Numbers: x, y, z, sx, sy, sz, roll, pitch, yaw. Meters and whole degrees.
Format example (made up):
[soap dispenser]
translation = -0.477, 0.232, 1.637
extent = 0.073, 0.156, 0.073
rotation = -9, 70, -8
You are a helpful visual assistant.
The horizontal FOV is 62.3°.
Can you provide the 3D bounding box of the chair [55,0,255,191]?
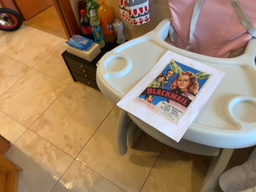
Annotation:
[chair]
translation = 0.300, -0.040, 0.980
extent = 0.600, 0.990, 0.690
rotation = 23, 60, 23
